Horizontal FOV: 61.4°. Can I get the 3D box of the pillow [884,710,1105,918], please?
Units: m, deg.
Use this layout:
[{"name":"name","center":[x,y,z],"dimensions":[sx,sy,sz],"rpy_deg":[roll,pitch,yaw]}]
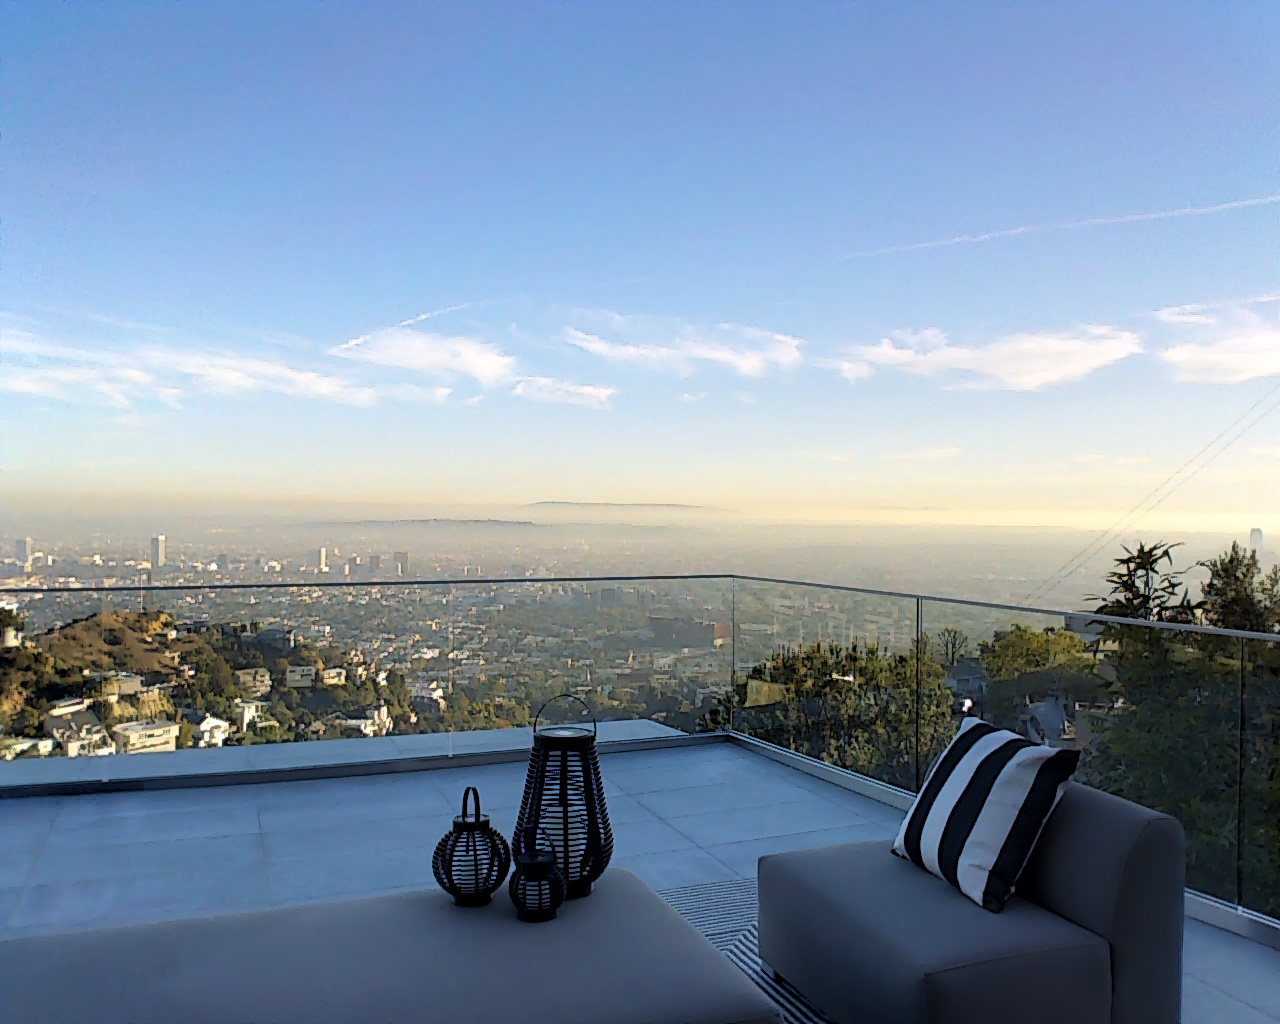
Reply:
[{"name":"pillow","center":[1.060,0.890,3.280],"dimensions":[0.390,0.450,0.530],"rpy_deg":[0,1,-21]}]
